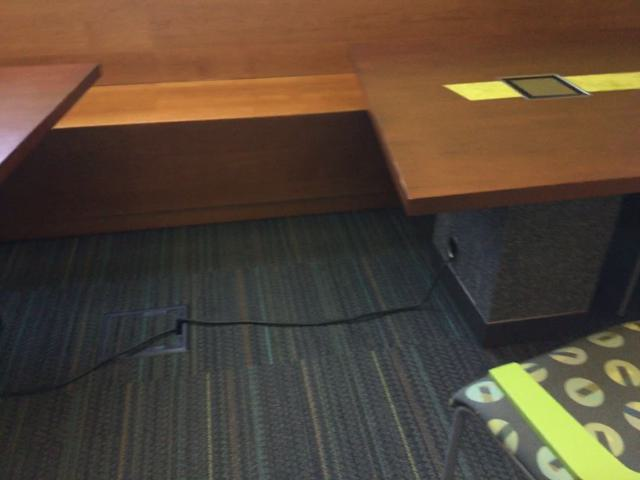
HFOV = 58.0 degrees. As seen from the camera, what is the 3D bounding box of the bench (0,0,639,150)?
[{"bbox_3d":[-0.530,-0.770,2.060,4.260,0.670,0.520,-5,33,-9],"label":"bench"}]
